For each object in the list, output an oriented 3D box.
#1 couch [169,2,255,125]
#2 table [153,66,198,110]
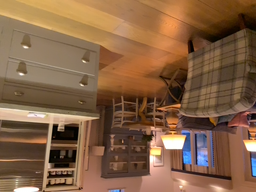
[{"bbox_3d":[1.150,-0.200,2.330,1.050,0.920,0.900,9,166,-31],"label":"couch"},{"bbox_3d":[0.800,-0.100,3.670,0.410,0.590,0.650,8,167,-27],"label":"table"}]
